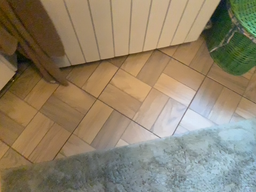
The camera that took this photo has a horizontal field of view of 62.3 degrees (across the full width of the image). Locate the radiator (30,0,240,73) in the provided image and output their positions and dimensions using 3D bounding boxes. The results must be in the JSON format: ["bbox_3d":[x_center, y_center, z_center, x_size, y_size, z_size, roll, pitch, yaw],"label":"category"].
[{"bbox_3d":[0.060,-0.410,0.980,0.820,0.640,0.210,-11,73,-5],"label":"radiator"}]
